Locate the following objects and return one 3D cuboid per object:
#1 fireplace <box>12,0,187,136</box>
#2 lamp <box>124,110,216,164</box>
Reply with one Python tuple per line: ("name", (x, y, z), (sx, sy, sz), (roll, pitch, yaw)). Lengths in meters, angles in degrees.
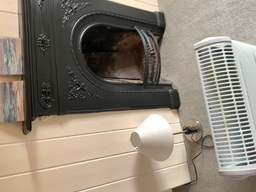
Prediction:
("fireplace", (-0.150, -0.250, 1.310), (0.320, 0.940, 0.850), (-19, 76, 55))
("lamp", (0.240, 0.220, 1.200), (0.230, 0.450, 0.220), (-22, 73, 55))
